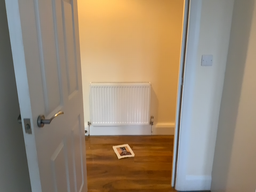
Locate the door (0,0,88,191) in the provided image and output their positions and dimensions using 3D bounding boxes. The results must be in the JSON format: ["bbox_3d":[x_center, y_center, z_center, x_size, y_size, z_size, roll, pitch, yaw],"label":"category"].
[{"bbox_3d":[-0.390,0.100,1.260,0.040,1.930,0.900,1,16,1],"label":"door"}]
